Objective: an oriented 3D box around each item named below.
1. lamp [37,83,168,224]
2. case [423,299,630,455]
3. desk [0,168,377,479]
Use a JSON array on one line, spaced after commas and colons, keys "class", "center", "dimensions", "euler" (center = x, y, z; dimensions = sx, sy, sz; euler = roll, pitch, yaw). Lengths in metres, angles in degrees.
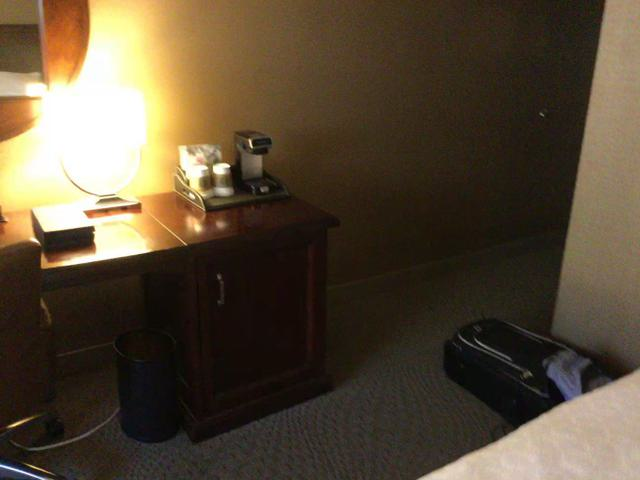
[{"class": "lamp", "center": [-0.790, -0.330, 2.120], "dimensions": [0.360, 0.450, 0.270], "euler": [-10, 21, -38]}, {"class": "case", "center": [0.830, 0.520, 2.390], "dimensions": [0.450, 0.280, 0.630], "euler": [-10, 21, -38]}, {"class": "desk", "center": [-1.140, 0.340, 1.820], "dimensions": [2.790, 0.830, 0.830], "euler": [-10, 21, -38]}]
